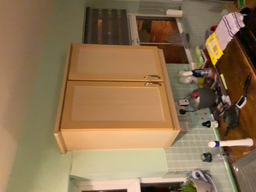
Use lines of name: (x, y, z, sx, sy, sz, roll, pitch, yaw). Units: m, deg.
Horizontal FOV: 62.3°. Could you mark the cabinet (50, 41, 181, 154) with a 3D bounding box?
cabinet: (-0.110, -0.020, 1.690, 0.340, 0.810, 0.830, 99, 168, -54)
